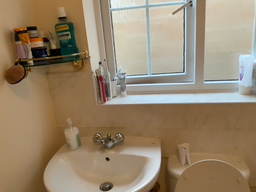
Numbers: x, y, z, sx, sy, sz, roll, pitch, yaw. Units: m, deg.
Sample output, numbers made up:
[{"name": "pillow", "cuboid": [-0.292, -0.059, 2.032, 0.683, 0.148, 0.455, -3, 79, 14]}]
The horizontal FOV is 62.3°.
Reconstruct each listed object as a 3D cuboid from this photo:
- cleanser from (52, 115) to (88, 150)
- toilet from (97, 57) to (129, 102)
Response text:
[{"name": "cleanser", "cuboid": [-0.320, 0.200, 1.190, 0.130, 0.150, 0.120, 0, 18, 15]}, {"name": "toilet", "cuboid": [-0.080, -0.100, 1.230, 0.130, 0.220, 0.170, -1, 18, 12]}]
